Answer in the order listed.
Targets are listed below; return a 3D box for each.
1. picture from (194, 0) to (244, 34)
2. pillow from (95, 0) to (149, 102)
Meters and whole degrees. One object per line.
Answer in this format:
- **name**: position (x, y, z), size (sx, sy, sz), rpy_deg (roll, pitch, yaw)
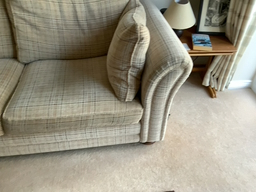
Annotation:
- **picture**: position (0.720, -0.690, 1.680), size (0.340, 0.340, 0.080), rpy_deg (-6, 33, -3)
- **pillow**: position (0.000, -0.310, 1.350), size (0.170, 0.400, 0.580), rpy_deg (-6, 39, 14)
